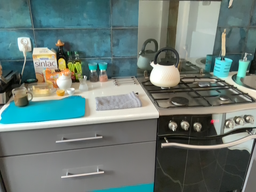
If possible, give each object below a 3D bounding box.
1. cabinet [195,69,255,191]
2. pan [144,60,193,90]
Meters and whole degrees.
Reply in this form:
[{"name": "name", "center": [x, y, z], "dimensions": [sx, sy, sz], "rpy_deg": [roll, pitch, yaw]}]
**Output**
[{"name": "cabinet", "center": [0.980, 0.290, 1.620], "dimensions": [0.590, 0.850, 0.600], "rpy_deg": [-3, 24, -9]}, {"name": "pan", "center": [0.260, -0.150, 1.440], "dimensions": [0.260, 0.130, 0.220], "rpy_deg": [-3, 24, -8]}]
